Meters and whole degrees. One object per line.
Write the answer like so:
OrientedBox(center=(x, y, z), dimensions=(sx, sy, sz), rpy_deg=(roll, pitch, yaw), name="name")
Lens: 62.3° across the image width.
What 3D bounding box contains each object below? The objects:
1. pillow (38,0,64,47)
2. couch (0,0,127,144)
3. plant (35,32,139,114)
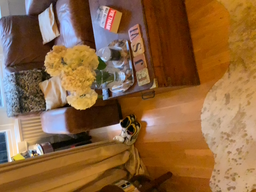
OrientedBox(center=(-0.810, -0.740, 2.200), dimensions=(0.300, 0.110, 0.360), rpy_deg=(-21, 80, 50), name="pillow")
OrientedBox(center=(-0.780, -0.410, 2.230), dimensions=(1.040, 0.780, 1.620), rpy_deg=(-17, 81, 45), name="couch")
OrientedBox(center=(-0.230, -0.110, 1.220), dimensions=(0.330, 0.430, 0.340), rpy_deg=(-15, 84, 45), name="plant")
